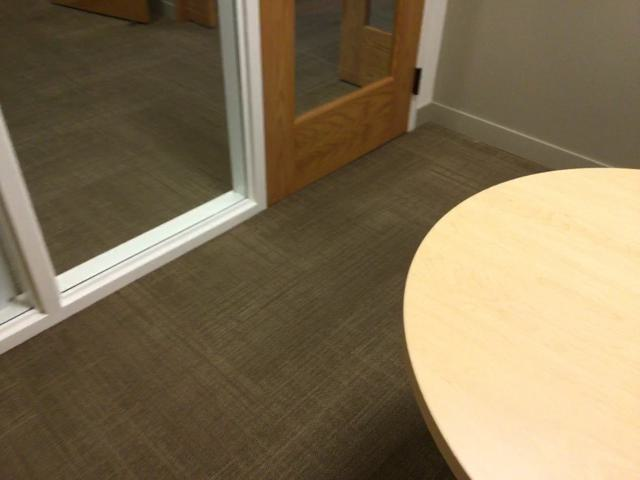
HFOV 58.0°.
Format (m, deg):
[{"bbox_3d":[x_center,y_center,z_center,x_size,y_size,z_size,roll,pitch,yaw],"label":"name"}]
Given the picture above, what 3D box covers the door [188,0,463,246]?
[{"bbox_3d":[0.110,-0.720,2.090,0.170,1.080,1.260,31,47,30],"label":"door"}]
